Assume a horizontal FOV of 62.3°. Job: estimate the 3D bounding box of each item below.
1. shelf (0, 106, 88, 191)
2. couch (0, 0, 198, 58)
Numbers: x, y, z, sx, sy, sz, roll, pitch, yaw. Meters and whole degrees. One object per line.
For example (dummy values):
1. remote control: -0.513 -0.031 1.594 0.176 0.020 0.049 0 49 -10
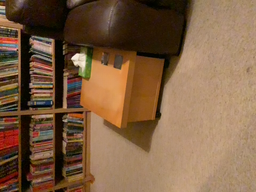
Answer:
1. shelf: -1.330 0.800 1.950 0.320 2.000 1.290 3 93 50
2. couch: -0.220 -0.880 1.410 1.040 0.930 1.090 17 104 48
